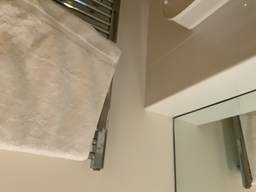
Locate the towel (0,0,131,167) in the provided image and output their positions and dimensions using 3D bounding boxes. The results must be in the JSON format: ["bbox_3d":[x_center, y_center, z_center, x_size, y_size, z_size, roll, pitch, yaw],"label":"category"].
[{"bbox_3d":[-0.290,-0.130,0.690,0.610,0.620,0.120,18,152,-29],"label":"towel"}]
